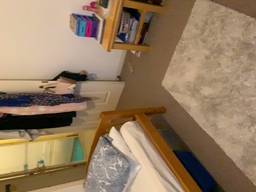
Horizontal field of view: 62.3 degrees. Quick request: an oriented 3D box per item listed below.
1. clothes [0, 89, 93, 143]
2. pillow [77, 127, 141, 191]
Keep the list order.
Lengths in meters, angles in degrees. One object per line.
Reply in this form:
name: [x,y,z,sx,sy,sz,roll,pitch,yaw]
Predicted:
clothes: [-1.090,0.220,2.330,0.160,1.320,0.580,55,137,44]
pillow: [-0.210,0.750,1.850,0.440,0.250,0.840,52,135,46]
